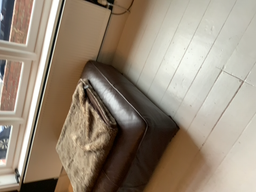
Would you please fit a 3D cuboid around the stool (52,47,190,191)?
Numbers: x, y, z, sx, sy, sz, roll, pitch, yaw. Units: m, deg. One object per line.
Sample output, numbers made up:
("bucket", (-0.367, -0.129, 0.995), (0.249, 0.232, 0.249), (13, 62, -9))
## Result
("stool", (-0.210, 0.310, 1.820), (1.070, 0.380, 1.050), (46, 123, 42))
